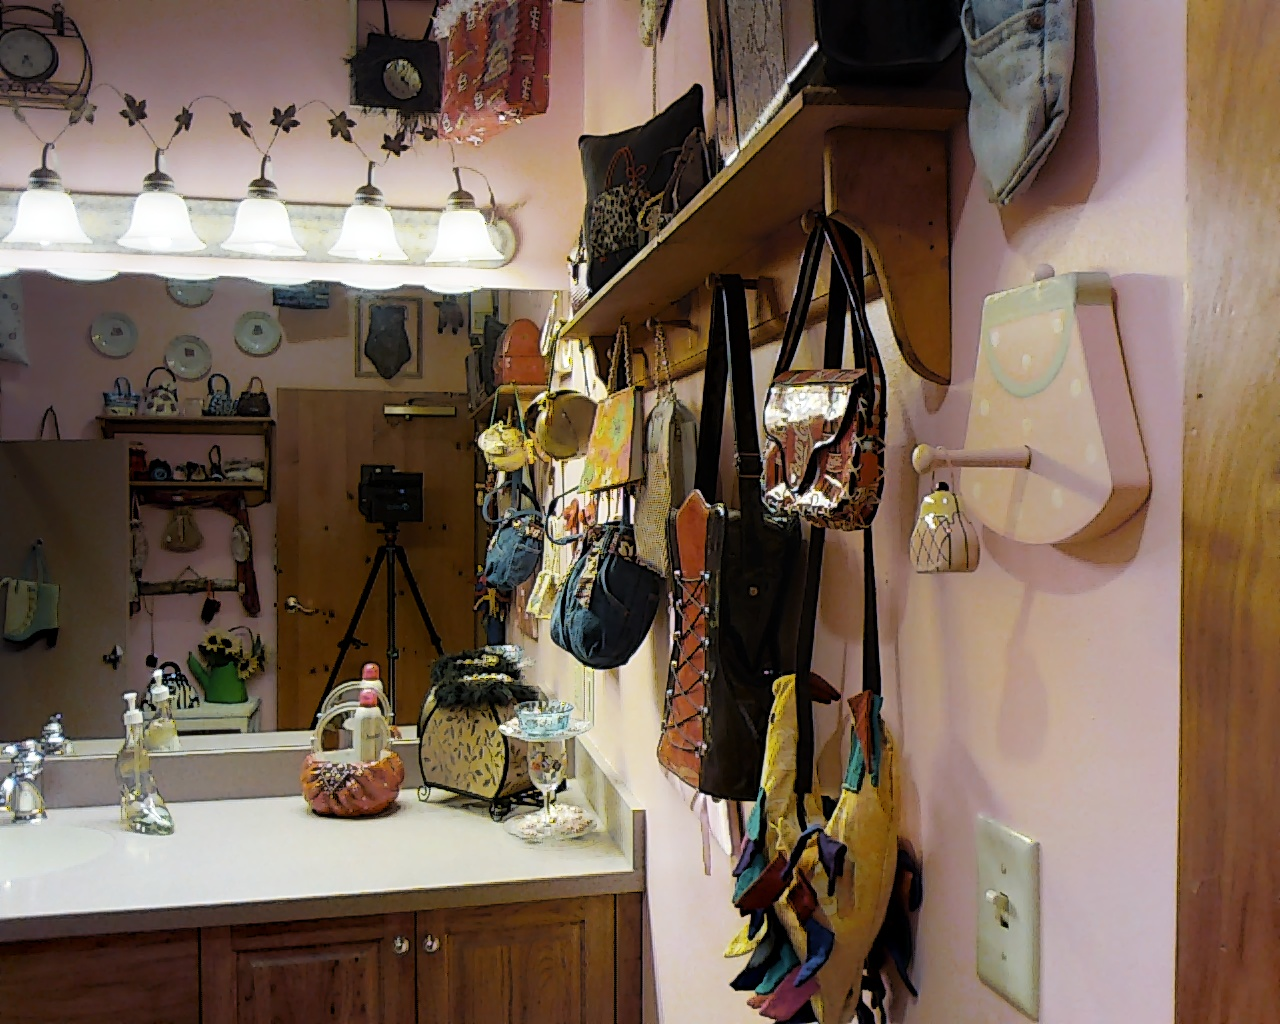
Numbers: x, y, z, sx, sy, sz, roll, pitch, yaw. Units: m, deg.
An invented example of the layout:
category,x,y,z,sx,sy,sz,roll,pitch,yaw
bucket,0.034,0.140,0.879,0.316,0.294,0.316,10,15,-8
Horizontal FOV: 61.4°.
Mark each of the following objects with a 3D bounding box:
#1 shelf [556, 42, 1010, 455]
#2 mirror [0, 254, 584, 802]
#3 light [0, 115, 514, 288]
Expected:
category,x,y,z,sx,sy,sz,roll,pitch,yaw
shelf,0.060,-0.210,1.310,0.150,0.230,1.150,0,1,-13
mirror,-0.880,0.030,2.250,1.540,1.090,0.030,0,1,-13
light,-0.860,-0.610,2.150,1.190,0.230,0.230,0,1,-13
